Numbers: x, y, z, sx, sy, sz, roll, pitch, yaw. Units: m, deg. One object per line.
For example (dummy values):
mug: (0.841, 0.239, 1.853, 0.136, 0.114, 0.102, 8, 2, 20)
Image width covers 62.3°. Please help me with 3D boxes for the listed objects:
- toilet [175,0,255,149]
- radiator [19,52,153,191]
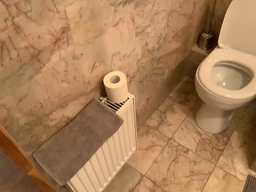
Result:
toilet: (0.650, -0.200, 1.280, 0.360, 0.780, 0.640, 28, 56, 26)
radiator: (-0.100, 0.240, 1.000, 0.170, 0.730, 0.470, 31, 57, 27)
